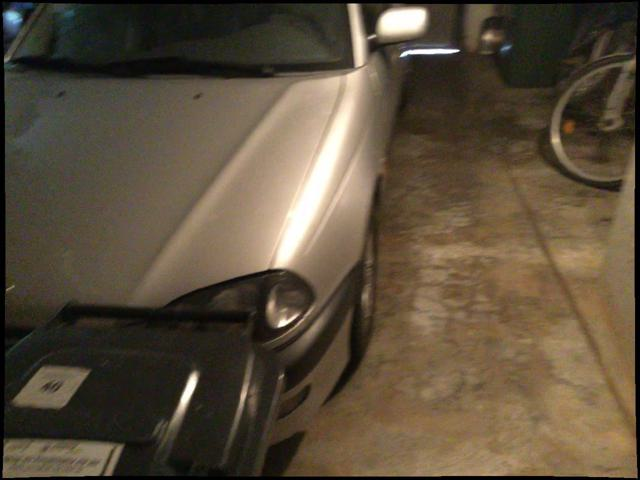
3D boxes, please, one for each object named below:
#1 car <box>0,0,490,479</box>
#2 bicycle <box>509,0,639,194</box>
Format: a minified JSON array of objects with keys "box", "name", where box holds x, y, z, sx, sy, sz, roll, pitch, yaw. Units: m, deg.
[{"box":[-0.410,-0.931,2.820,2.018,1.481,3.981,2,34,11],"name":"car"},{"box":[1.618,-1.131,3.390,0.649,0.961,1.791,0,34,9],"name":"bicycle"}]
